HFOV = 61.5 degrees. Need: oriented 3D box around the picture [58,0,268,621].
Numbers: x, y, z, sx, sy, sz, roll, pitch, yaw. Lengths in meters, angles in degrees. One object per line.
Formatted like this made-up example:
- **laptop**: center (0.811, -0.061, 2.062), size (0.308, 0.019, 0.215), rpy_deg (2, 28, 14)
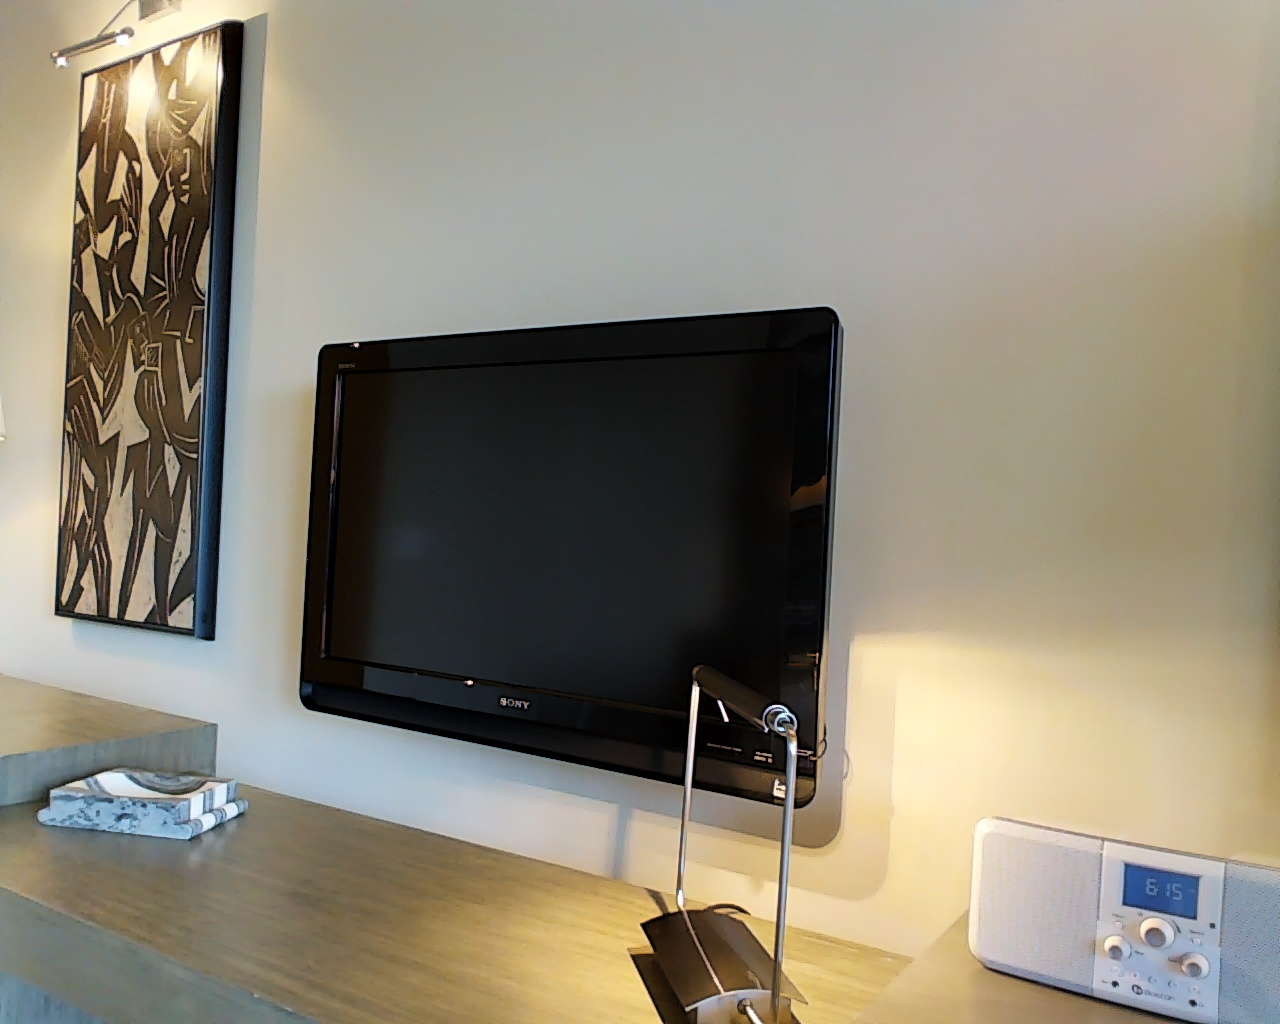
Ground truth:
- **picture**: center (-1.050, -0.420, 2.340), size (0.580, 1.260, 0.070), rpy_deg (2, 0, 34)
